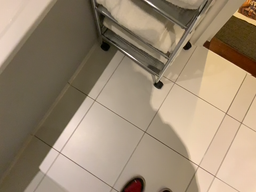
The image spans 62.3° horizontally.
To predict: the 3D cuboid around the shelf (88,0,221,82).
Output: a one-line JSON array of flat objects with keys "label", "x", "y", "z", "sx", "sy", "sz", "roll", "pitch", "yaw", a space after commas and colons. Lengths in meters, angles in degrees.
[{"label": "shelf", "x": 0.100, "y": -0.380, "z": 0.950, "sx": 0.440, "sy": 0.630, "sz": 0.300, "roll": 32, "pitch": 79, "yaw": 4}]
